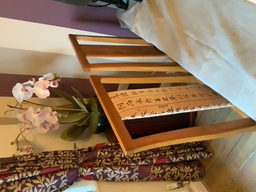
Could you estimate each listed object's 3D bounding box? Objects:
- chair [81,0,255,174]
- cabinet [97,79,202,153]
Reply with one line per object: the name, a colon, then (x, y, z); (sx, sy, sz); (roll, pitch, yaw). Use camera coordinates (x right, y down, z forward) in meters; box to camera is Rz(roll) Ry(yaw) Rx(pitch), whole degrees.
chair: (0.400, -0.140, 0.860); (0.500, 1.000, 0.530); (56, 136, 48)
cabinet: (0.150, 0.140, 1.690); (0.380, 0.650, 0.380); (56, 136, 48)
